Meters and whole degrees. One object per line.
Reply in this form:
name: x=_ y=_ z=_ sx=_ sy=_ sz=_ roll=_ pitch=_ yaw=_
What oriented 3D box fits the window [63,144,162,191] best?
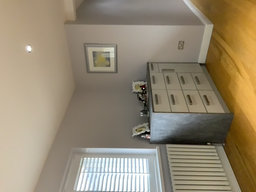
window: x=-0.180 y=1.120 z=2.590 sx=1.280 sy=1.160 sz=0.110 roll=-88 pitch=-1 yaw=-55

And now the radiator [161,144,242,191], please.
radiator: x=0.840 y=1.020 z=2.390 sx=1.170 sy=0.790 sz=0.090 roll=-88 pitch=-1 yaw=-57
